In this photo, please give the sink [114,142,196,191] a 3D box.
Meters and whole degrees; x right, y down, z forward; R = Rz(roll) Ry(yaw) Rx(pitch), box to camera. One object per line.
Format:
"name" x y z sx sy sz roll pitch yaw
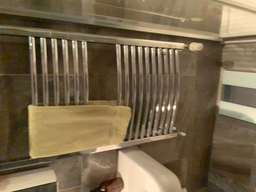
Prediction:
"sink" 0.110 0.600 1.160 0.420 0.210 0.540 19 109 58
